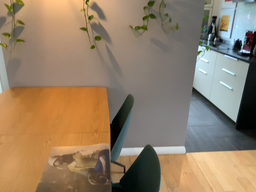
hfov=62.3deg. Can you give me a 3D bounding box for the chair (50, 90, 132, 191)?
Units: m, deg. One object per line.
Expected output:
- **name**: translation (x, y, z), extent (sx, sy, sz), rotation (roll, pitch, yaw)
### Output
- **chair**: translation (-0.240, 0.420, 1.700), extent (0.510, 0.800, 0.480), rotation (3, 22, 2)
